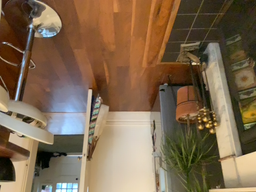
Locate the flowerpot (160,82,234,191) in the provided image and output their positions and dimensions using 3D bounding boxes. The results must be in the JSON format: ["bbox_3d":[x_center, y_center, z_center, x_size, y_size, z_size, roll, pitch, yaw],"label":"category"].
[{"bbox_3d":[0.580,0.430,1.920,0.440,1.090,0.310,0,156,-1],"label":"flowerpot"}]
